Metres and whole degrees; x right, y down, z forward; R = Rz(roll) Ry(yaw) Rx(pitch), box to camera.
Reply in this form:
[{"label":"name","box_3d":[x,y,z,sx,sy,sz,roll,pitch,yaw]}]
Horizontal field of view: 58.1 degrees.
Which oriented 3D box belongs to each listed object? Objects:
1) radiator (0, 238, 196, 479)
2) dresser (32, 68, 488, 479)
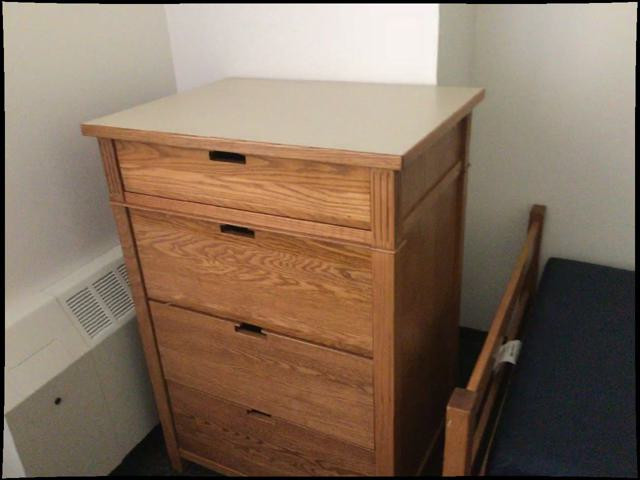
[{"label":"radiator","box_3d":[-0.648,0.411,1.640,0.160,0.641,0.550,11,32,27]},{"label":"dresser","box_3d":[-0.090,0.150,1.620,0.888,1.082,0.630,11,32,28]}]
